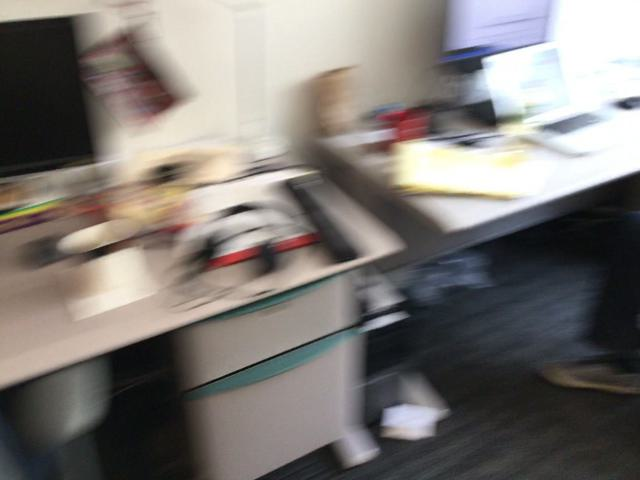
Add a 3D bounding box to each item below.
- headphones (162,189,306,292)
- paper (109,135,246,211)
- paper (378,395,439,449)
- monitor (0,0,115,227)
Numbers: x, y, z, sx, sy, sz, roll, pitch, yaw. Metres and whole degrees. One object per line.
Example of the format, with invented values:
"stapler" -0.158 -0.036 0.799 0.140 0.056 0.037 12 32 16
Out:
"headphones" -0.190 -0.010 1.250 0.230 0.060 0.250 -18 33 -22
"paper" -0.390 -0.190 1.560 0.330 0.050 0.280 -11 31 -12
"paper" 0.260 0.530 1.690 0.160 0.070 0.110 5 31 15
"monitor" -0.830 -0.260 1.310 0.600 0.450 0.190 -13 31 -14
